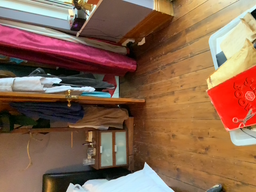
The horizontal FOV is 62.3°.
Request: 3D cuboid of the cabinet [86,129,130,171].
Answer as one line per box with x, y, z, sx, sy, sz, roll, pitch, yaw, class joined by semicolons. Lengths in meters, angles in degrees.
-0.280;0.690;2.830;0.430;0.460;0.470;-17;73;61;cabinet
